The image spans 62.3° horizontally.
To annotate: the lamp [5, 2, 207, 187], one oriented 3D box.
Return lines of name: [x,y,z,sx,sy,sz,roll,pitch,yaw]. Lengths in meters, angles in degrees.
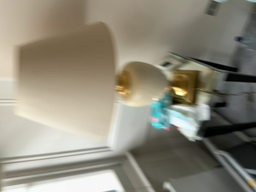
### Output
lamp: [-0.150,-0.050,0.930,0.490,0.670,0.510,42,125,52]
